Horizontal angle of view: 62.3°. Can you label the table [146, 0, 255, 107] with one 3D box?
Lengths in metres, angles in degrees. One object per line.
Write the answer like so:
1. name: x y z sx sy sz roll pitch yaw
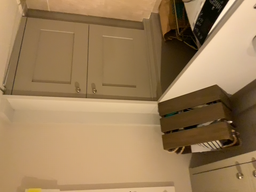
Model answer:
1. table: 0.560 -0.460 1.580 0.640 0.900 0.610 2 155 -11
